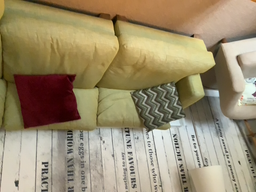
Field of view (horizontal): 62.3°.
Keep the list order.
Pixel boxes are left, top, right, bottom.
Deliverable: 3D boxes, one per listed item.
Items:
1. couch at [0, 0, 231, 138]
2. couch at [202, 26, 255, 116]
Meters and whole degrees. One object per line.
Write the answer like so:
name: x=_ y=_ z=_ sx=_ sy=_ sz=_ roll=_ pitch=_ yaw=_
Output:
couch: x=-0.650 y=-0.150 z=1.880 sx=2.730 sy=0.760 sz=1.200 roll=3 pitch=156 yaw=-25
couch: x=1.370 y=-0.260 z=2.350 sx=0.790 sy=0.680 sz=0.720 roll=-9 pitch=158 yaw=5
